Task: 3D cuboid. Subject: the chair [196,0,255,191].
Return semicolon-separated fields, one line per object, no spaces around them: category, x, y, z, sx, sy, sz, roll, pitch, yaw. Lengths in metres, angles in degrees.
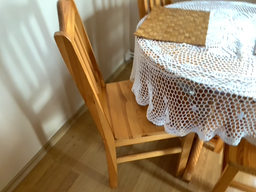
chair;0.690;0.110;0.930;0.520;0.900;0.460;14;45;16

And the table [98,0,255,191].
table;0.490;-0.070;1.240;0.900;0.750;0.900;18;46;20
